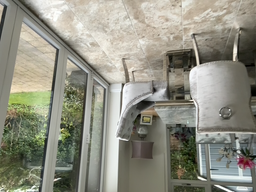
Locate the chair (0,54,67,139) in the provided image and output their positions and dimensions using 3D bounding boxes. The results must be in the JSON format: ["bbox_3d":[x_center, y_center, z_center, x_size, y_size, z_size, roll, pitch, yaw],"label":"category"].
[{"bbox_3d":[-1.400,0.040,3.040,0.730,1.070,0.680,1,165,5],"label":"chair"}]

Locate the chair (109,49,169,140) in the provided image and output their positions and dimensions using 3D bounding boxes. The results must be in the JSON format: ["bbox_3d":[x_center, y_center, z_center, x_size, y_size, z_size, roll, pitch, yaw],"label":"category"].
[{"bbox_3d":[0.180,0.020,2.780,0.660,1.040,0.580,-2,165,13],"label":"chair"}]

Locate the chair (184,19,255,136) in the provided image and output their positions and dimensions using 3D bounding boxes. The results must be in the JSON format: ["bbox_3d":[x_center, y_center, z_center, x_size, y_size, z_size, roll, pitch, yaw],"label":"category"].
[{"bbox_3d":[0.920,-0.120,2.210,0.560,1.010,0.670,-4,164,20],"label":"chair"}]
